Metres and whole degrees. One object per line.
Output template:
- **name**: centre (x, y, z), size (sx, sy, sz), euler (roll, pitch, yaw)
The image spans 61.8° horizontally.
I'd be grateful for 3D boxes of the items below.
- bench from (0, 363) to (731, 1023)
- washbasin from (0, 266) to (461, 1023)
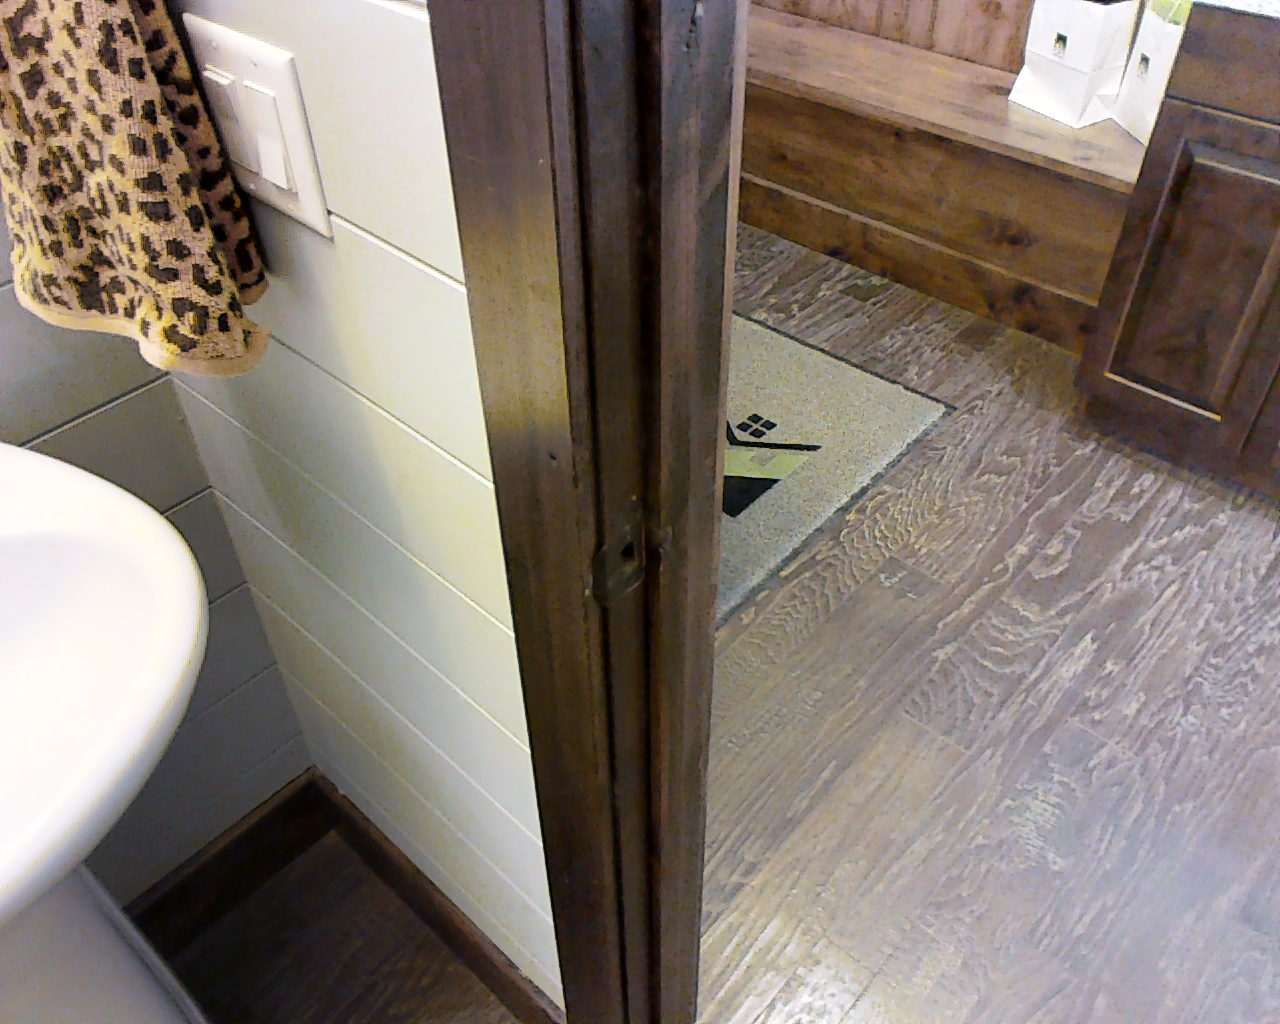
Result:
- **bench**: centre (-0.560, 0.330, 1.410), size (1.410, 0.460, 0.370), euler (30, 51, 30)
- **washbasin**: centre (-0.570, 0.390, 0.950), size (0.470, 1.000, 0.570), euler (30, 51, 30)
